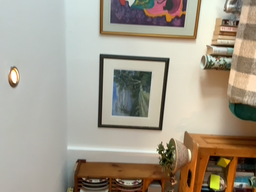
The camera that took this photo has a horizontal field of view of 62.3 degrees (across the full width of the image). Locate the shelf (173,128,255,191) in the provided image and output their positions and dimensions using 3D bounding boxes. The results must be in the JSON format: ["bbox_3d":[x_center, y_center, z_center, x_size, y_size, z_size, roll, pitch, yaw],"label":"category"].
[{"bbox_3d":[1.020,0.810,1.990,0.420,1.050,0.880,-99,12,-76],"label":"shelf"}]
